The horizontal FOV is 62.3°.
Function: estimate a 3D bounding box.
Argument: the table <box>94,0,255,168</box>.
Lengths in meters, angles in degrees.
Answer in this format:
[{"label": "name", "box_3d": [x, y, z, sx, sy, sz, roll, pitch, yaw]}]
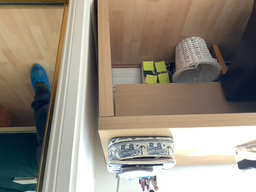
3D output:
[{"label": "table", "box_3d": [0.470, -0.080, 1.180, 1.240, 0.750, 0.650, -1, 151, -5]}]

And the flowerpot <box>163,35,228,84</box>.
[{"label": "flowerpot", "box_3d": [0.430, -0.240, 1.420, 0.320, 0.210, 0.250, -1, 151, -5]}]
